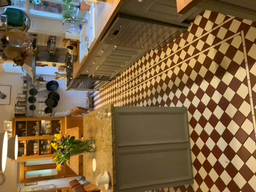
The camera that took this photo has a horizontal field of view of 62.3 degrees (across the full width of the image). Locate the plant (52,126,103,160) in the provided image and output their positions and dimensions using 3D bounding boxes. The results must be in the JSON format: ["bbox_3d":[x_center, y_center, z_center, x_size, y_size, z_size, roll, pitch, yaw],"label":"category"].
[{"bbox_3d":[-0.570,0.510,2.360,0.300,0.500,0.310,157,112,-65],"label":"plant"}]
